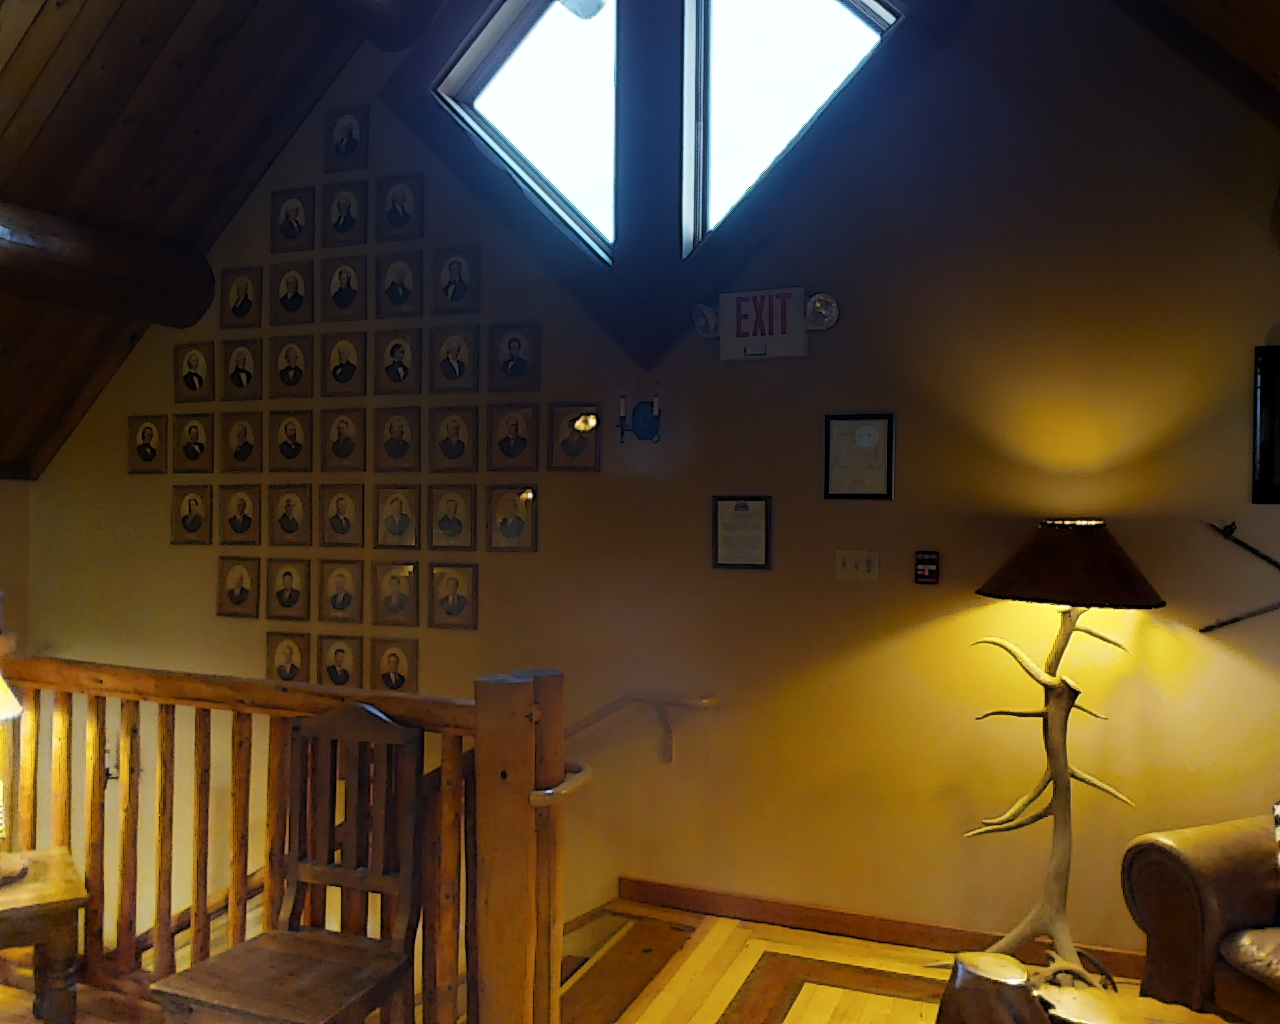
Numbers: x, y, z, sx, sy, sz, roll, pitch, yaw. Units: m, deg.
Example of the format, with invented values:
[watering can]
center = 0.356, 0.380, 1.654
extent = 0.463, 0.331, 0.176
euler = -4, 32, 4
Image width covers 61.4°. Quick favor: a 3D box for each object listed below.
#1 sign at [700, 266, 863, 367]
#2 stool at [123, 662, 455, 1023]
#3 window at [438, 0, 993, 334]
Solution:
[sign]
center = 0.530, -0.730, 4.070
extent = 0.600, 0.330, 0.110
euler = 1, 0, 21
[stool]
center = -0.850, 0.980, 2.690
extent = 0.570, 1.110, 0.550
euler = 1, 0, 17
[window]
center = 0.260, -2.060, 4.340
extent = 2.190, 2.511, 0.430
euler = 1, 0, 21
